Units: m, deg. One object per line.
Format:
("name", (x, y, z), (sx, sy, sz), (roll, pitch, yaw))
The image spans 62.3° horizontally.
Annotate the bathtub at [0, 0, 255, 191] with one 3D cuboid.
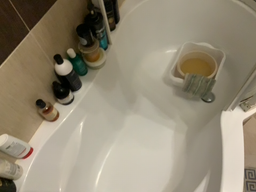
("bathtub", (0.130, 0.210, 1.100), (0.930, 0.600, 1.690), (20, 66, 16))
